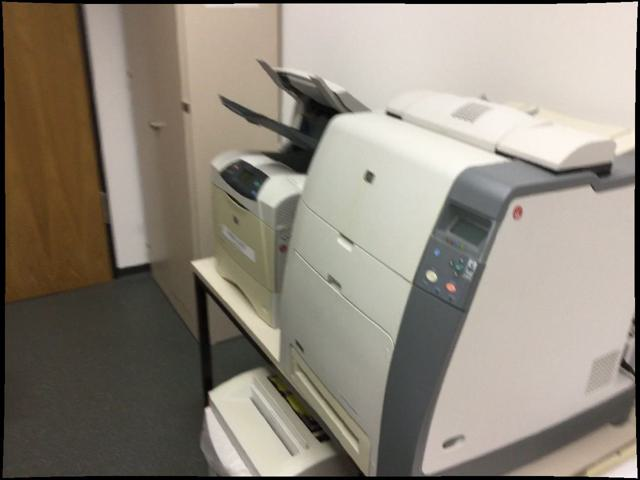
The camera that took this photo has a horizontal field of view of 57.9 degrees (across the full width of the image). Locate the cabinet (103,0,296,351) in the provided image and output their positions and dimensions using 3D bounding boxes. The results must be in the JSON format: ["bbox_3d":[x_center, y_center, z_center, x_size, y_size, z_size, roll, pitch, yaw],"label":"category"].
[{"bbox_3d":[-0.549,-0.671,2.490,0.480,2.062,0.900,-12,30,-29],"label":"cabinet"}]
